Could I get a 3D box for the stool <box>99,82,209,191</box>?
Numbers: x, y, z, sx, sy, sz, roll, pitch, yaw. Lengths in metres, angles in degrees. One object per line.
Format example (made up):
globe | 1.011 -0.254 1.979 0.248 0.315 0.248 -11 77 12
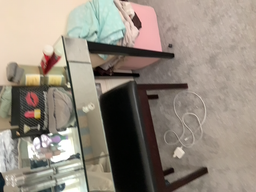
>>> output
stool | 0.160 0.240 1.250 0.250 0.510 0.590 -22 75 48
